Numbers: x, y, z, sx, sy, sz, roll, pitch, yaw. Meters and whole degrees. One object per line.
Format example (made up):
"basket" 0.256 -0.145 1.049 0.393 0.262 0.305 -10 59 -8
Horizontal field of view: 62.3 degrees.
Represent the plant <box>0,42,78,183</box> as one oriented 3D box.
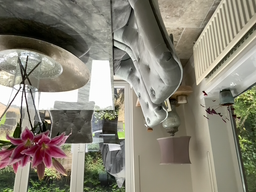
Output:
"plant" -0.480 0.080 1.000 0.400 0.600 0.260 0 161 -2
